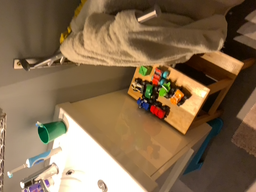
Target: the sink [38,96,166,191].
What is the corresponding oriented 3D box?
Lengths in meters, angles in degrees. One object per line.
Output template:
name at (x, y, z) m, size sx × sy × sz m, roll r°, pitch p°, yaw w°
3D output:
sink at (-0.180, 0.400, 0.940) m, size 0.490 × 0.120 × 0.630 m, roll 36°, pitch 121°, yaw 27°
